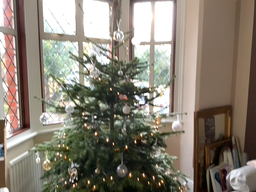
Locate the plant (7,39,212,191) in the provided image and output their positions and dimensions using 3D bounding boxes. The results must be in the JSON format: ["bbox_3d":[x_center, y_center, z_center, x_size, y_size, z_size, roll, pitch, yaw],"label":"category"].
[{"bbox_3d":[-0.240,0.470,2.100,1.520,1.770,1.230,-4,9,-31],"label":"plant"}]
